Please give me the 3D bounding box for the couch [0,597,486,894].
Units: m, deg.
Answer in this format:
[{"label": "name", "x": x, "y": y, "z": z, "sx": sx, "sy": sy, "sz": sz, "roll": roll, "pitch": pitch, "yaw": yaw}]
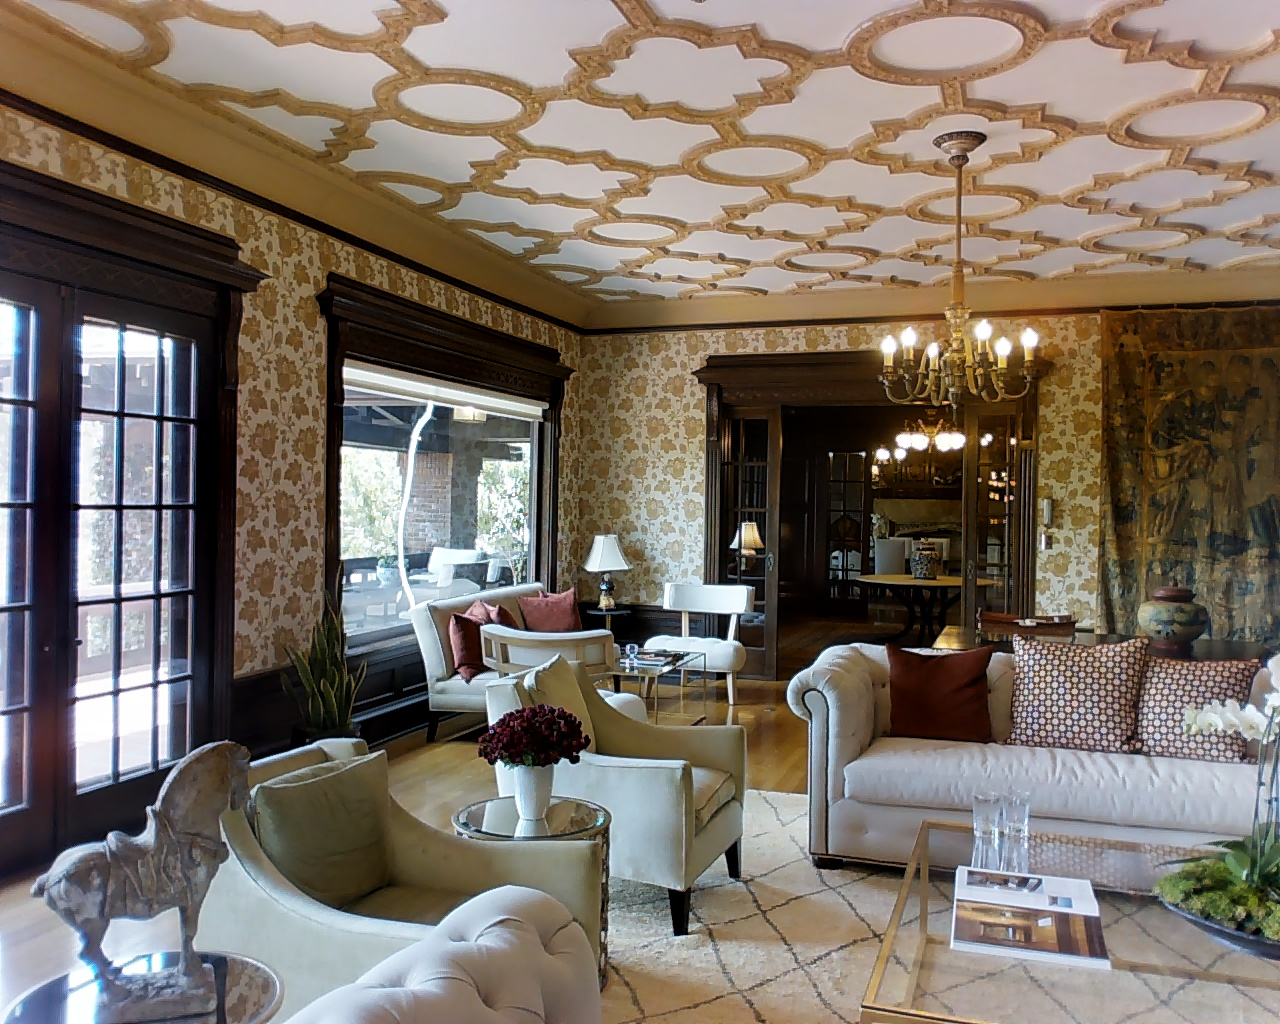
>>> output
[{"label": "couch", "x": -1.990, "y": 1.080, "z": 5.930, "sx": 1.100, "sy": 0.970, "sz": 2.780, "roll": 1, "pitch": 0, "yaw": 19}]
